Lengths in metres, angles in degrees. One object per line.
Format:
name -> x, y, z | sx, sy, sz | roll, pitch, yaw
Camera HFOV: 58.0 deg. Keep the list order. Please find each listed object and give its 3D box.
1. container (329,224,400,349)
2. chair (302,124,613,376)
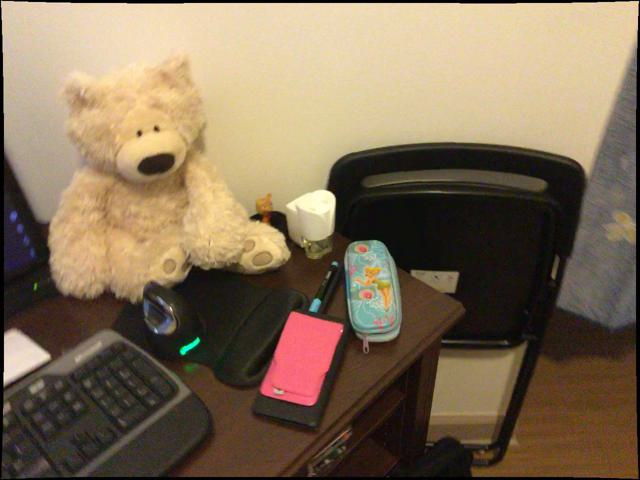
container -> 0.060, 0.060, 0.840 | 0.080, 0.040, 0.210 | -3, 40, -1
chair -> 0.209, 0.040, 1.050 | 0.459, 0.471, 0.120 | -3, 40, -1
